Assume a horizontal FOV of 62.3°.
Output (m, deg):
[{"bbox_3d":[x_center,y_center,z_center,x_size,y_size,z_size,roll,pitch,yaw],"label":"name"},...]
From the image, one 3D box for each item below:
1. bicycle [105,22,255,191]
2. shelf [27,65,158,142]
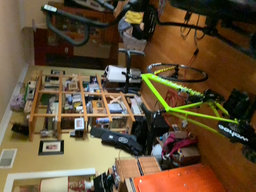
[{"bbox_3d":[0.520,0.050,1.700,1.760,1.030,0.710,-116,33,-55],"label":"bicycle"},{"bbox_3d":[-0.720,0.040,4.070,1.850,1.980,0.460,-118,34,-56],"label":"shelf"}]
